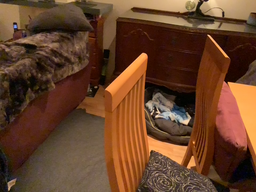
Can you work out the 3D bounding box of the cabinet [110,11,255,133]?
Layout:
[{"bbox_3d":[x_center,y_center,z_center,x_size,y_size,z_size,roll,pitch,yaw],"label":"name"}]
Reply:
[{"bbox_3d":[0.570,-0.290,2.240,1.380,0.920,0.580,11,32,10],"label":"cabinet"}]

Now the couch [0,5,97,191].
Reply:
[{"bbox_3d":[-1.030,-0.010,1.550,0.940,0.900,1.890,11,32,11],"label":"couch"}]
